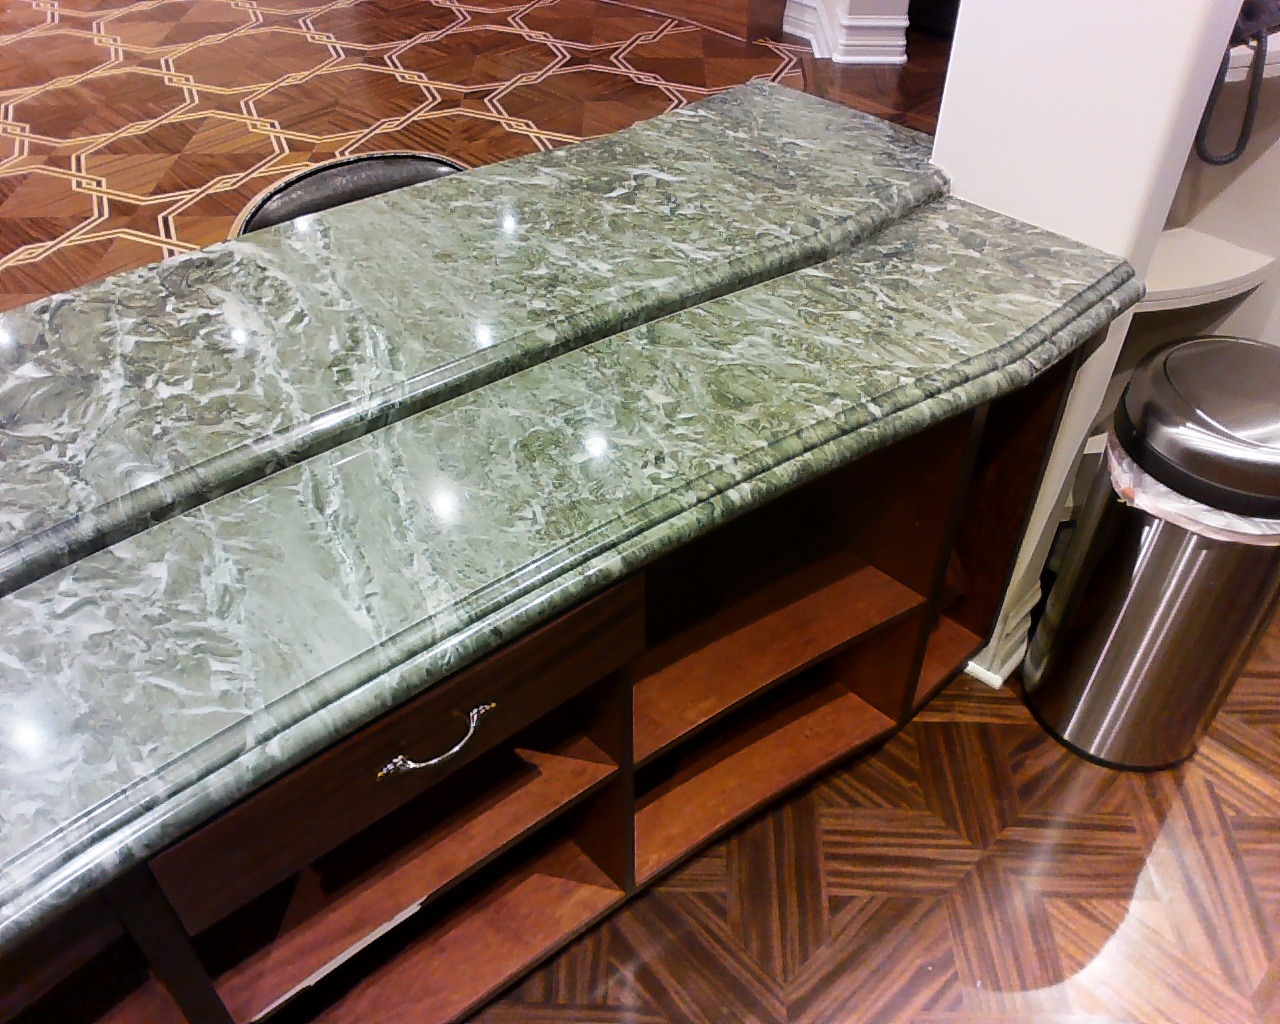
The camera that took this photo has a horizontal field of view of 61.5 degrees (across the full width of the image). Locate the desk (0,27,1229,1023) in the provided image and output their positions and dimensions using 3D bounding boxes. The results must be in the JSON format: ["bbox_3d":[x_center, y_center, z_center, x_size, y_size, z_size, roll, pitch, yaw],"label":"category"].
[{"bbox_3d":[-0.640,0.500,1.410,3.130,1.260,0.990,-32,51,-31],"label":"desk"}]
